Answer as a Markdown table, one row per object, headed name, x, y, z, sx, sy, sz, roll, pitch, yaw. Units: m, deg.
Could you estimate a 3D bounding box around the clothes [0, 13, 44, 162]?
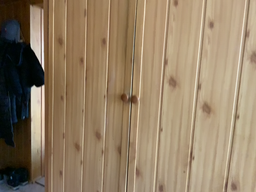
| name | x | y | z | sx | sy | sz | roll | pitch | yaw |
| --- | --- | --- | --- | --- | --- | --- | --- | --- | --- |
| clothes | -1.300 | -0.110 | 2.200 | 0.820 | 1.300 | 0.370 | 9 | 10 | 30 |
